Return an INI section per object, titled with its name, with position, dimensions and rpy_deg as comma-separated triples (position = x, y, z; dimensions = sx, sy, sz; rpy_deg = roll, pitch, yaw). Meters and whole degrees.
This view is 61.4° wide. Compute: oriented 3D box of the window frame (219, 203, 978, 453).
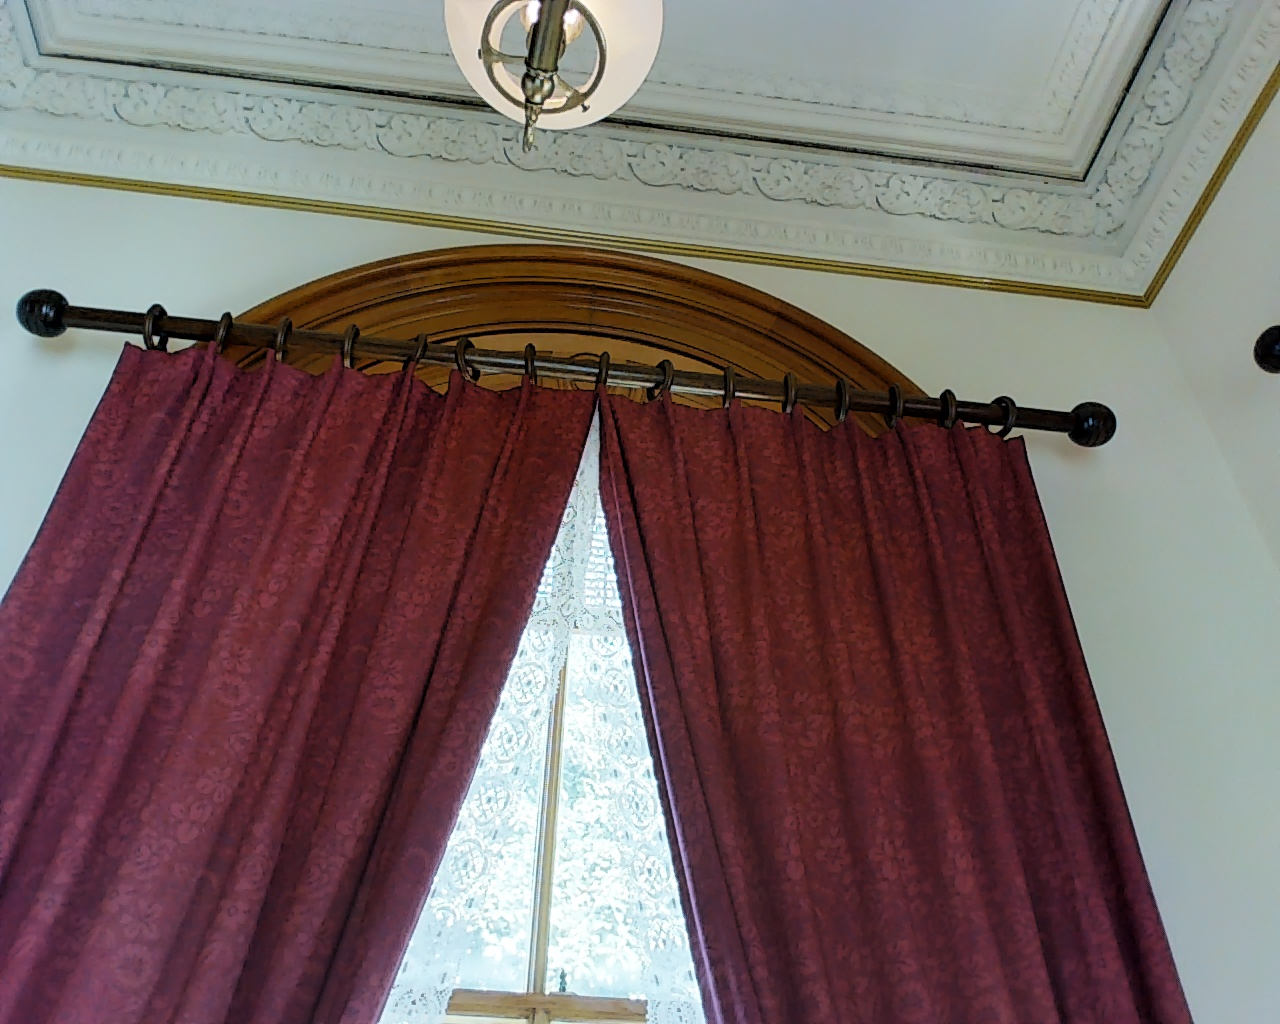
[window frame]
position = -0.080, -0.480, 2.760
dimensions = 1.769, 0.580, 0.160
rpy_deg = 4, -42, -4
